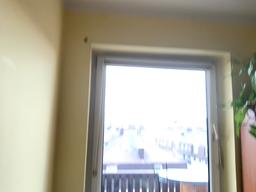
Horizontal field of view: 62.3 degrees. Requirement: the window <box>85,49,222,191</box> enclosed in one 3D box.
[{"bbox_3d":[0.230,0.410,1.870,1.150,1.570,0.180,2,-8,-8],"label":"window"}]
